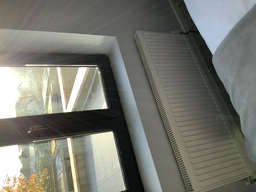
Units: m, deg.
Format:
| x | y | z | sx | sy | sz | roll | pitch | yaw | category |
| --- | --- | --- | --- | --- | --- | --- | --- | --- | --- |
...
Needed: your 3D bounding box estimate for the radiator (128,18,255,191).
| x | y | z | sx | sy | sz | roll | pitch | yaw | category |
| --- | --- | --- | --- | --- | --- | --- | --- | --- | --- |
| 0.470 | -0.050 | 1.570 | 0.100 | 0.630 | 1.280 | -54 | 46 | 52 | radiator |
